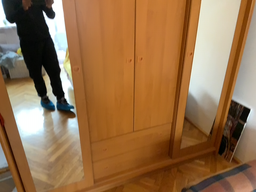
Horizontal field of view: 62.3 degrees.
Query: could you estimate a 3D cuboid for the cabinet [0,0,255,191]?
[{"bbox_3d":[-0.060,-0.420,1.660,1.840,2.300,0.720,-11,30,-19],"label":"cabinet"}]
